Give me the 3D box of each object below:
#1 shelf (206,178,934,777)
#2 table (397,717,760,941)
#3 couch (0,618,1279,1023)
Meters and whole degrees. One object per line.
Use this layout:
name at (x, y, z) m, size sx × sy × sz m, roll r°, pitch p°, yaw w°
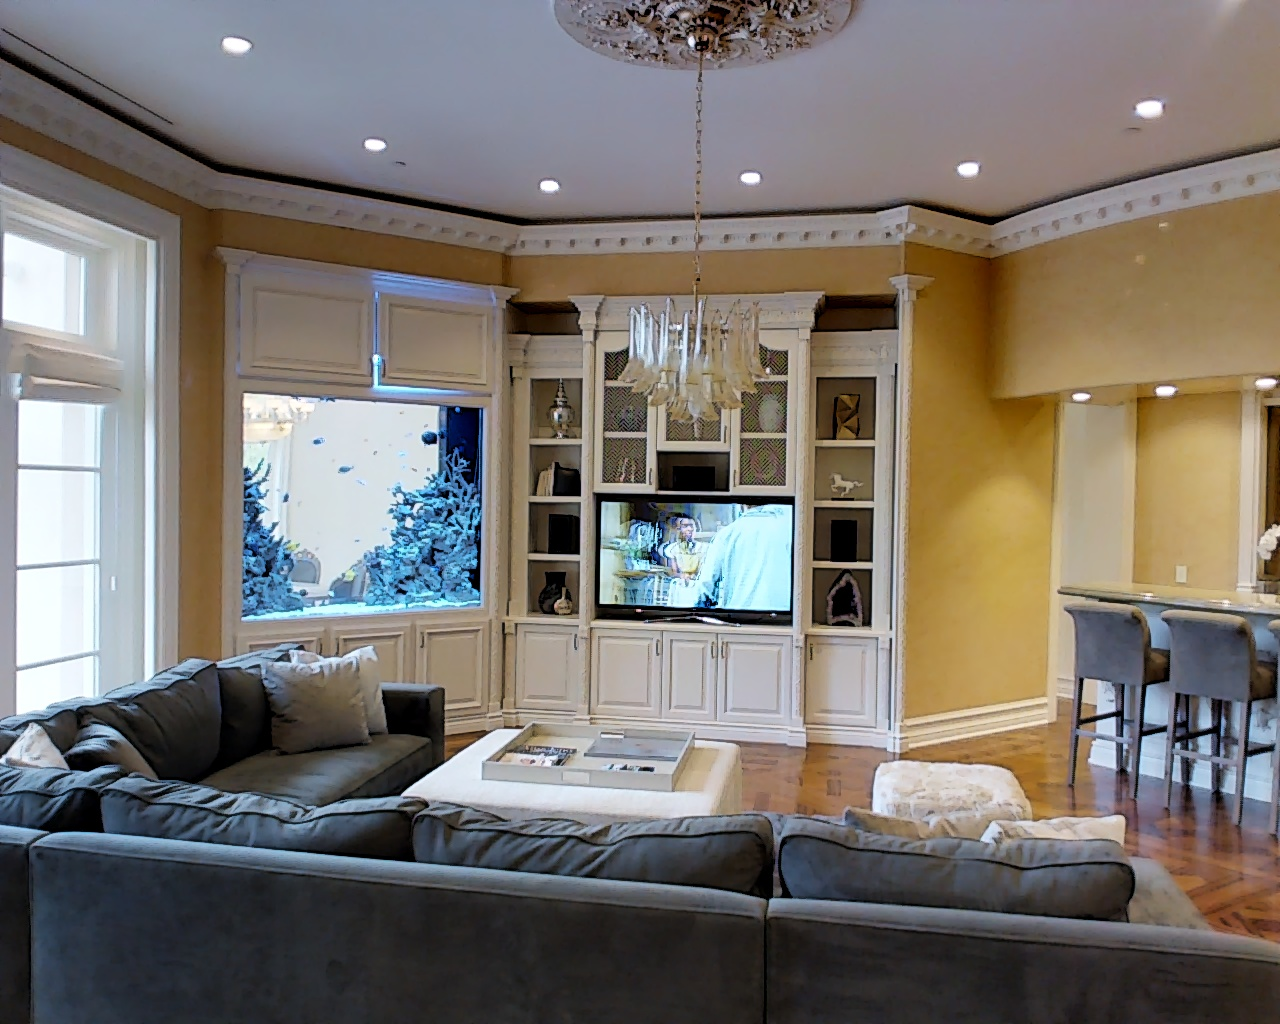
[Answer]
shelf at (-0.420, -0.180, 7.250) m, size 4.479 × 3.441 × 1.310 m, roll 1°, pitch 1°, yaw -12°
table at (-0.180, 1.280, 4.590) m, size 1.270 × 0.490 × 1.250 m, roll 1°, pitch 1°, yaw 11°
couch at (-0.360, 1.100, 3.800) m, size 4.039 × 1.000 × 2.800 m, roll 1°, pitch 1°, yaw 11°
